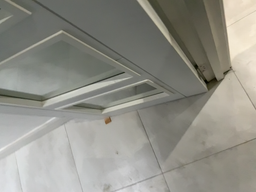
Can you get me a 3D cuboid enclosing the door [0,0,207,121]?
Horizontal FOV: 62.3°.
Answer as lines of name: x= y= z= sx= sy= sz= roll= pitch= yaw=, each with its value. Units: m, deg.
door: x=-0.350 y=-0.100 z=0.480 sx=0.800 sy=1.970 sz=0.070 roll=-17 pitch=75 yaw=23
